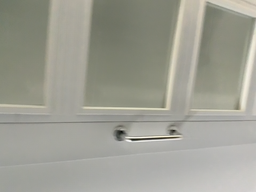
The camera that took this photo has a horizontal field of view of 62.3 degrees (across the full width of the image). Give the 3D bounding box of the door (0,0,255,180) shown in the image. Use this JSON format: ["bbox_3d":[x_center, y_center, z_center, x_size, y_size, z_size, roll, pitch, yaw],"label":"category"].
[{"bbox_3d":[0.210,-0.150,0.840,0.070,1.970,0.800,16,102,62],"label":"door"}]
